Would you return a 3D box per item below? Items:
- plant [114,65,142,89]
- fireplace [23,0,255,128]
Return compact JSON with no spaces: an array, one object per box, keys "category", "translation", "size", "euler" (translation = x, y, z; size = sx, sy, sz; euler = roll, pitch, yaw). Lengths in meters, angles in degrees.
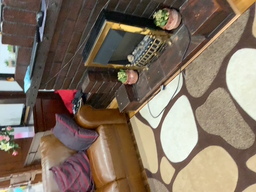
[{"category":"plant","translation":[0.000,-0.180,2.080],"size":[0.160,0.180,0.170],"euler":[-48,51,47]},{"category":"fireplace","translation":[-0.160,-0.500,1.700],"size":[1.730,1.040,0.830],"euler":[-47,52,48]}]
